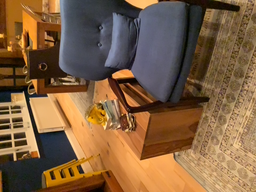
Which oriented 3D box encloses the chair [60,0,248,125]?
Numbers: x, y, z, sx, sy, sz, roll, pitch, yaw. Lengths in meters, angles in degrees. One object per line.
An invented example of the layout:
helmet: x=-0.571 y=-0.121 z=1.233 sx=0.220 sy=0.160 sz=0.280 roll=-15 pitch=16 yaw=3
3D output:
chair: x=0.080 y=-0.330 z=1.390 sx=0.770 sy=0.820 sz=0.630 roll=38 pitch=125 yaw=51

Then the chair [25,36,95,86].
chair: x=-1.040 y=-0.540 z=3.190 sx=0.640 sy=0.850 sz=0.550 roll=38 pitch=125 yaw=51
